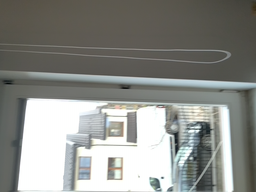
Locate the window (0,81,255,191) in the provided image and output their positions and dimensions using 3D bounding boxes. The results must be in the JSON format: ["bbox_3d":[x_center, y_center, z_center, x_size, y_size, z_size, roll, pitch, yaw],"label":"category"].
[{"bbox_3d":[-0.040,1.000,1.150,0.260,1.460,2.100,109,163,-78],"label":"window"}]
